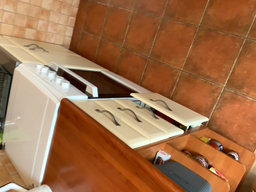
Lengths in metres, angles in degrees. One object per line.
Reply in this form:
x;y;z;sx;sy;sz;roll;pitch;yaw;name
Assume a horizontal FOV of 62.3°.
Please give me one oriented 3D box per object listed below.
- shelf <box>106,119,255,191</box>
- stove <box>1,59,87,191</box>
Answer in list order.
0.270;0.490;1.030;0.300;0.850;0.590;31;111;35;shelf
-0.510;0.170;1.200;0.490;0.150;0.610;31;111;35;stove
